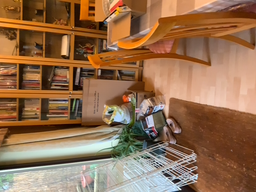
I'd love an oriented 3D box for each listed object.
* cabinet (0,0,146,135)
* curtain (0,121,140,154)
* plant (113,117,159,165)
[{"bbox_3d":[-0.760,-0.830,2.810,0.370,2.010,2.530,-167,78,-67],"label":"cabinet"},{"bbox_3d":[-0.760,0.490,2.620,0.400,1.820,0.180,-164,76,-66],"label":"curtain"},{"bbox_3d":[0.090,0.550,2.730,0.450,0.420,0.450,-164,75,-66],"label":"plant"}]
